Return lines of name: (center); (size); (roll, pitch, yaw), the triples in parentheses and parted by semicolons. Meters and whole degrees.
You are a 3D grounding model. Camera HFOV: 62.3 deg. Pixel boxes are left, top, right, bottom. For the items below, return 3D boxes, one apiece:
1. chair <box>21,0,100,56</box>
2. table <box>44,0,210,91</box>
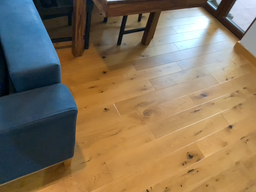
chair: (-0.530, -0.800, 1.630); (0.510, 0.850, 0.390); (-17, 60, -27)
table: (-0.240, -1.000, 1.930); (0.820, 0.760, 1.660); (-17, 60, -27)
